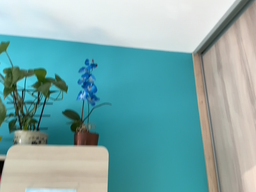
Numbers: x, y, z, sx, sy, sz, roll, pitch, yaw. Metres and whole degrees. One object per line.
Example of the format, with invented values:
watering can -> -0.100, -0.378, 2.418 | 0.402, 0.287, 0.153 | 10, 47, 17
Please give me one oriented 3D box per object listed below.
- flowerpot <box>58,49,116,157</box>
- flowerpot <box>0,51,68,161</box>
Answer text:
flowerpot -> -0.230, 0.080, 1.210 | 0.230, 0.470, 0.490 | 5, -21, -12
flowerpot -> -0.530, 0.100, 1.150 | 0.320, 0.450, 0.500 | 5, -21, -11
